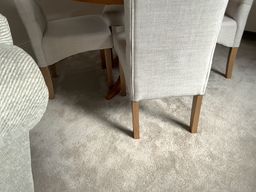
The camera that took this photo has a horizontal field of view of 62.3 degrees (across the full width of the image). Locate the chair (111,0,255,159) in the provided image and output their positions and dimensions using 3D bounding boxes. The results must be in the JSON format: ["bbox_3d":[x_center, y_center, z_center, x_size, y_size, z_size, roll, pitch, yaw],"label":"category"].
[{"bbox_3d":[0.190,-0.280,1.040,0.470,0.960,0.590,-7,35,-8],"label":"chair"}]

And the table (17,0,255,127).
[{"bbox_3d":[0.070,-0.480,1.530,1.140,0.740,1.110,-5,34,-4],"label":"table"}]

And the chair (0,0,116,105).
[{"bbox_3d":[-0.450,-0.500,1.390,0.630,0.950,0.470,-8,35,-9],"label":"chair"}]

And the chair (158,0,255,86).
[{"bbox_3d":[0.570,-0.620,1.510,0.570,0.960,0.450,-5,34,-4],"label":"chair"}]
